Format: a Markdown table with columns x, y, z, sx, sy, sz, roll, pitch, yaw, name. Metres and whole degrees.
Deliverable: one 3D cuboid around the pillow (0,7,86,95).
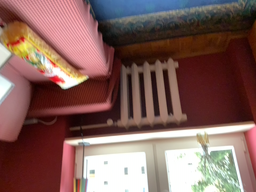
| x | y | z | sx | sy | sz | roll | pitch | yaw | name |
| --- | --- | --- | --- | --- | --- | --- | --- | --- | --- |
| -0.500 | -0.210 | 1.280 | 0.260 | 0.130 | 0.670 | -7 | 156 | 9 | pillow |
